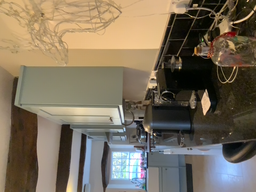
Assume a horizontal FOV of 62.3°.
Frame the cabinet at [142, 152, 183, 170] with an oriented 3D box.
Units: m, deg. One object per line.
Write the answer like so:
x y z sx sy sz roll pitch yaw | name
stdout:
0.850 1.640 5.380 0.630 0.920 0.370 94 178 -74 | cabinet
